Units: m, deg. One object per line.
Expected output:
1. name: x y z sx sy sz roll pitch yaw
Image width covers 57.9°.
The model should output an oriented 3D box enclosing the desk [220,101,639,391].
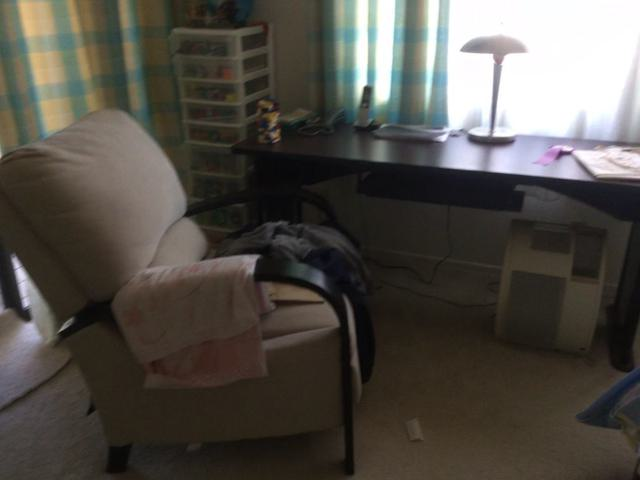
1. desk: 0.510 -0.080 2.390 1.640 0.750 0.720 9 25 20
